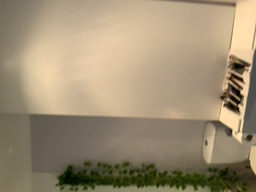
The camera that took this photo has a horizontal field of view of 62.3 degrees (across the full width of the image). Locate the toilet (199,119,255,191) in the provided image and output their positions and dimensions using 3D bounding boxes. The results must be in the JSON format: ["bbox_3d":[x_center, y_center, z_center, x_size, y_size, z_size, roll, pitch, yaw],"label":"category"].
[{"bbox_3d":[1.050,0.510,1.570,0.690,0.740,0.450,-109,23,-77],"label":"toilet"}]
